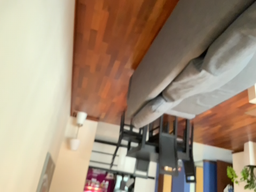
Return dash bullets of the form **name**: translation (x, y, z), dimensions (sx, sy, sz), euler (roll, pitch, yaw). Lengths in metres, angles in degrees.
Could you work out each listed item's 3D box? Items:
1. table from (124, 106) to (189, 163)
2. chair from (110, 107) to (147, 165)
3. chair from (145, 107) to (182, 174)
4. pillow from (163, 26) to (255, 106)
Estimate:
- **table**: translation (0.530, 0.800, 4.170), dimensions (0.940, 0.740, 0.960), euler (13, 155, -9)
- **chair**: translation (0.020, 0.760, 4.030), dimensions (0.510, 0.940, 0.410), euler (12, 155, -7)
- **chair**: translation (0.640, 0.800, 3.790), dimensions (0.390, 1.040, 0.510), euler (15, 154, -14)
- **pillow**: translation (0.580, -0.190, 1.650), dimensions (0.450, 0.260, 0.610), euler (10, 155, -3)
